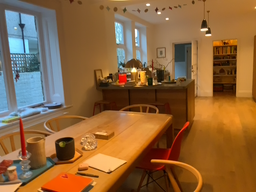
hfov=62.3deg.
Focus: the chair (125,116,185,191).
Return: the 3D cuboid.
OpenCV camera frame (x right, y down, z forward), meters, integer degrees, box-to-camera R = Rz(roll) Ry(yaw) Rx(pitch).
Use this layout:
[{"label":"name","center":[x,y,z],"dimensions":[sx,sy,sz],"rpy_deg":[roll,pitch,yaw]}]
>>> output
[{"label":"chair","center":[0.280,0.620,2.040],"dimensions":[0.470,0.750,0.390],"rpy_deg":[2,10,24]}]
